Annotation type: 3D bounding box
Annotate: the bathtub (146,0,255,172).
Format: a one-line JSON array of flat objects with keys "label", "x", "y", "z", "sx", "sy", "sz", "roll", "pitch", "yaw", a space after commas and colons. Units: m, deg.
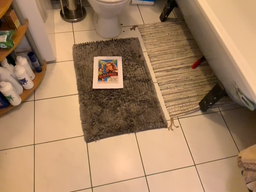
[{"label": "bathtub", "x": 0.670, "y": -0.480, "z": 1.430, "sx": 0.680, "sy": 0.560, "sz": 1.690, "roll": -9, "pitch": 61, "yaw": -9}]
